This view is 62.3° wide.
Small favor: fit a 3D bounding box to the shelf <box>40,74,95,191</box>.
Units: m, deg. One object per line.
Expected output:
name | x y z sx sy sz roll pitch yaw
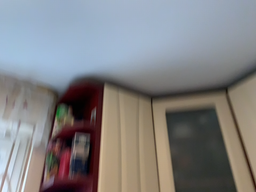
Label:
shelf | -0.290 0.370 0.950 0.140 0.940 0.270 15 -36 -24
